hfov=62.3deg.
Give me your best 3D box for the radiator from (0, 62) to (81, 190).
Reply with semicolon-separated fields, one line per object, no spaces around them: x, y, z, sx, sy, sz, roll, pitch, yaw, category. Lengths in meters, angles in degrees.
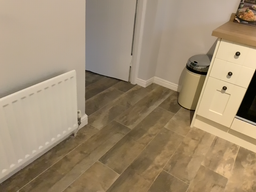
-0.710;0.250;1.180;0.080;0.600;1.130;24;36;26;radiator
